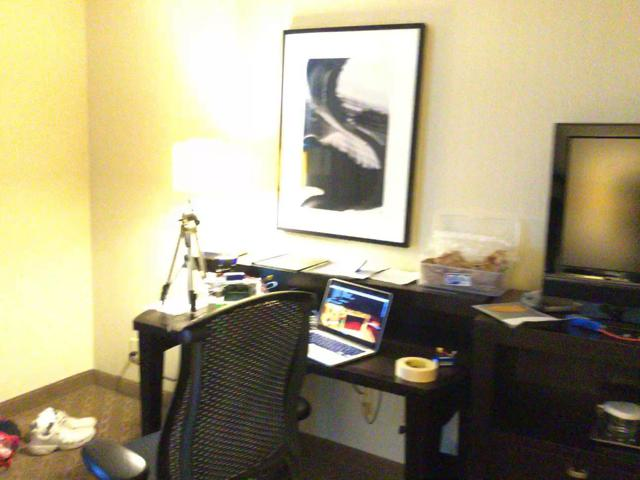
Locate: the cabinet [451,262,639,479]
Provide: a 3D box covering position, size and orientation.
[{"bbox_3d":[1.050,0.680,1.720,1.160,1.020,0.570,7,10,30],"label":"cabinet"}]

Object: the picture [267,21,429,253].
[{"bbox_3d":[0.090,-0.430,2.460,0.700,0.890,0.070,7,10,30],"label":"picture"}]

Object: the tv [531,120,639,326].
[{"bbox_3d":[1.070,-0.040,1.660,0.820,0.590,0.160,6,9,30],"label":"tv"}]
